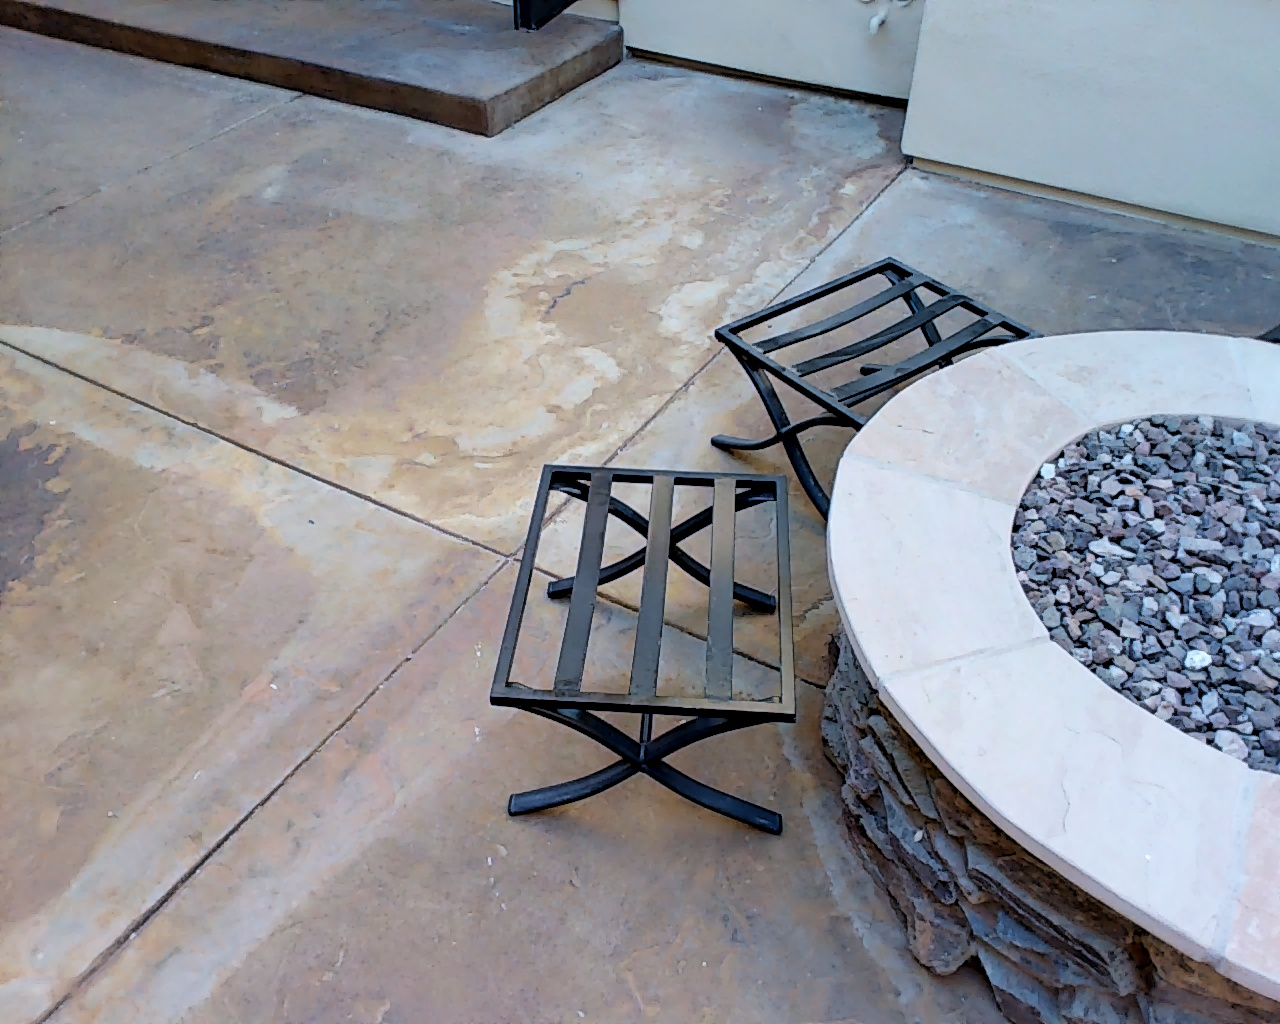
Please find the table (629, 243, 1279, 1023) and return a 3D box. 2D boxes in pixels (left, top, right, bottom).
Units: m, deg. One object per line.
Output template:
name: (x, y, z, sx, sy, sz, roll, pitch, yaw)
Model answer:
table: (0.990, 0.230, 1.740, 1.440, 0.440, 1.420, 29, 48, 29)
